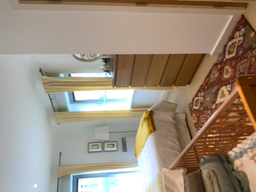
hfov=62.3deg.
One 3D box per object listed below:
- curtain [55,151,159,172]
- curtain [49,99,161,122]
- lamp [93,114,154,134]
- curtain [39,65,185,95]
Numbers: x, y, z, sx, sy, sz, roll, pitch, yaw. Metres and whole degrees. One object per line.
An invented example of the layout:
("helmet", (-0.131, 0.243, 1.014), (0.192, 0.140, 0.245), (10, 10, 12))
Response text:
("curtain", (-0.450, 1.500, 4.860), (0.350, 2.260, 0.220), (101, 165, -55))
("curtain", (-0.480, 0.320, 4.730), (0.450, 2.360, 0.220), (100, 166, -51))
("lamp", (-0.130, 0.680, 5.210), (0.360, 1.450, 0.270), (-108, 19, -63))
("curtain", (-0.250, -0.280, 3.770), (0.480, 2.410, 0.280), (102, 164, -57))
